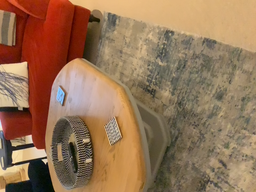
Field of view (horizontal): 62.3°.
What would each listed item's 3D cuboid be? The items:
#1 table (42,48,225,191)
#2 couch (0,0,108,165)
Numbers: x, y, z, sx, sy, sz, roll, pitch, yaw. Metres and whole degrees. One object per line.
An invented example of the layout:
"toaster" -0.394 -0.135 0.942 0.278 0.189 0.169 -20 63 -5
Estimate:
"table" -0.120 0.320 1.360 0.990 0.440 0.980 33 117 44
"couch" -0.950 -0.300 2.020 1.040 0.830 1.380 33 117 44
